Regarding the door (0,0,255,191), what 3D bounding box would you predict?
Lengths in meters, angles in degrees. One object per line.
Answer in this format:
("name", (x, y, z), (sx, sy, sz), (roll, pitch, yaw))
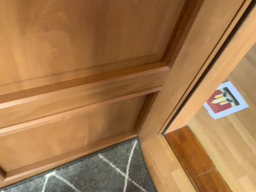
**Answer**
("door", (0.020, -0.270, 0.190), (1.160, 1.980, 0.080), (-15, 60, -21))
